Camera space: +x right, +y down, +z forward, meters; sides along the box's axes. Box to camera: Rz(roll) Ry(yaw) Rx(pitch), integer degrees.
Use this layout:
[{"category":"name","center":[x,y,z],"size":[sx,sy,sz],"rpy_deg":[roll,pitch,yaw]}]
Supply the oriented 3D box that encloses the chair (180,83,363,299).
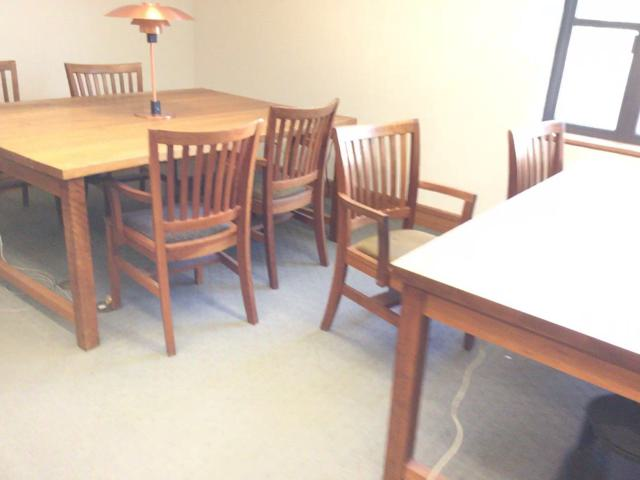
[{"category":"chair","center":[-0.270,-0.310,3.080],"size":[0.670,0.960,0.640],"rpy_deg":[16,20,36]}]

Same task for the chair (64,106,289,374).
[{"category":"chair","center":[-0.610,-0.070,2.480],"size":[0.690,0.930,0.590],"rpy_deg":[16,20,36]}]

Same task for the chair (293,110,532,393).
[{"category":"chair","center":[0.380,-0.030,2.430],"size":[0.630,0.950,0.700],"rpy_deg":[16,20,36]}]

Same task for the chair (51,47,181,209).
[{"category":"chair","center":[-1.230,-0.700,3.540],"size":[0.520,0.870,0.530],"rpy_deg":[16,20,36]}]

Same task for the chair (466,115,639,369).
[{"category":"chair","center":[1.080,-0.040,2.570],"size":[0.530,0.950,0.550],"rpy_deg":[16,20,36]}]
